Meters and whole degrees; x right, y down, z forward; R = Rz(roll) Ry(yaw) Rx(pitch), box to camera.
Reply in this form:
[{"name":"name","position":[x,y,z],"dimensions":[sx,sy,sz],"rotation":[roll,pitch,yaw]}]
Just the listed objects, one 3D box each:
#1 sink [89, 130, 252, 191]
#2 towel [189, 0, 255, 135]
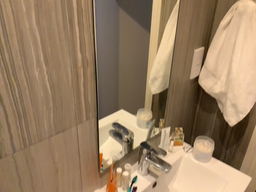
[{"name":"sink","position":[0.170,0.420,0.870],"dimensions":[0.410,0.150,0.650],"rotation":[24,34,37]},{"name":"towel","position":[0.470,-0.140,0.960],"dimensions":[0.110,0.570,0.270],"rotation":[-23,35,-40]}]
